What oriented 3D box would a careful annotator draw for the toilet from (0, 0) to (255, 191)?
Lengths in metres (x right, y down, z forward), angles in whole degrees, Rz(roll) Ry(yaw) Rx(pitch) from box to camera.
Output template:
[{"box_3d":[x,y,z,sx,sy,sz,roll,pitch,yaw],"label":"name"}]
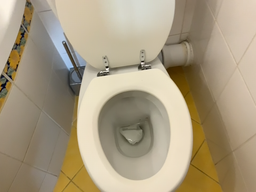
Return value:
[{"box_3d":[0.010,-0.030,0.750,0.430,0.830,0.720,-9,62,0],"label":"toilet"}]
